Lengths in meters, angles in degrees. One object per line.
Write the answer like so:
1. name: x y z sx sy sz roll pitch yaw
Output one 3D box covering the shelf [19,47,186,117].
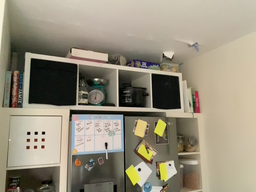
1. shelf: -0.230 -0.040 2.090 1.480 0.430 0.660 4 -10 -27
